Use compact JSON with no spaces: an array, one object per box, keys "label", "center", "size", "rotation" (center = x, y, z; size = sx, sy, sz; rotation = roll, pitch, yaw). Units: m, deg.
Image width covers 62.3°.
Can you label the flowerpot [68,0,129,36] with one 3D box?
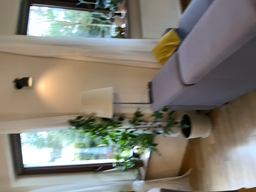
[{"label":"flowerpot","center":[-0.400,-1.090,2.890],"size":[0.190,0.790,0.430],"rotation":[131,138,-69]}]

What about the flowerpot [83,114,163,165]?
[{"label":"flowerpot","center":[-0.100,0.550,2.710],"size":[0.370,0.900,0.530],"rotation":[-104,20,-47]}]

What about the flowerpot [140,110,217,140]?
[{"label":"flowerpot","center":[0.580,0.340,2.470],"size":[0.270,0.810,0.310],"rotation":[134,135,-70]}]
